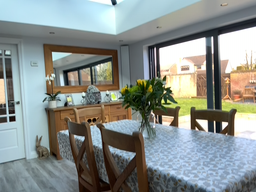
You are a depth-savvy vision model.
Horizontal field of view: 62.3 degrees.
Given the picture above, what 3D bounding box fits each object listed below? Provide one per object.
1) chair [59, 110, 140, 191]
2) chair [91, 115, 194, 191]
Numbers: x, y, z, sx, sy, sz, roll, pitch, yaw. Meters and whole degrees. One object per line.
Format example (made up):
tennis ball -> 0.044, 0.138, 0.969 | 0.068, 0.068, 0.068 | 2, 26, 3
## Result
chair -> -0.240, 0.640, 1.850 | 0.530, 0.960, 0.420 | -5, 4, -37
chair -> 0.110, 0.650, 1.410 | 0.510, 0.960, 0.420 | -5, 4, -39
